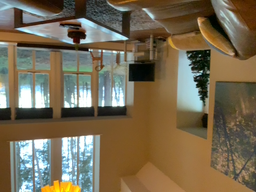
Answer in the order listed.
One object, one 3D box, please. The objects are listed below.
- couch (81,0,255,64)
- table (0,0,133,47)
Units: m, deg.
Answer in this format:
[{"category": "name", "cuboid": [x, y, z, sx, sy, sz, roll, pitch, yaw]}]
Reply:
[{"category": "couch", "cuboid": [0.650, -0.740, 1.820, 1.160, 0.760, 1.830, 3, -176, 27]}, {"category": "table", "cuboid": [-0.830, -1.010, 2.860, 1.330, 0.420, 1.350, 3, -176, 27]}]
